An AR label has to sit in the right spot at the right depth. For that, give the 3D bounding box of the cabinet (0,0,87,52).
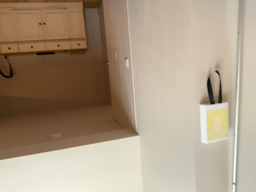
[{"bbox_3d":[-1.650,-1.360,4.110,1.570,0.890,0.460,-7,-171,-16],"label":"cabinet"}]
